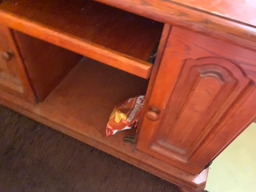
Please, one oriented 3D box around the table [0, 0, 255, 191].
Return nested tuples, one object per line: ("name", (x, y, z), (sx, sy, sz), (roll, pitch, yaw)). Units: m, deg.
("table", (-0.090, -0.200, 0.850), (1.130, 0.740, 0.560), (22, 52, 10))
